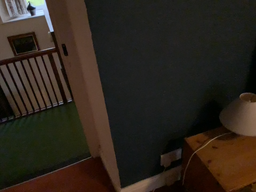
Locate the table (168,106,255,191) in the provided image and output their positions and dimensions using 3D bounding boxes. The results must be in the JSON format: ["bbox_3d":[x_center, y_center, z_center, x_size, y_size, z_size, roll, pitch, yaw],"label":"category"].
[{"bbox_3d":[0.590,0.430,1.250,0.580,0.470,0.380,-17,34,-14],"label":"table"}]
